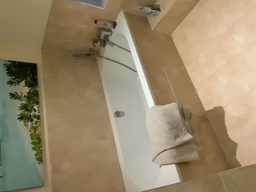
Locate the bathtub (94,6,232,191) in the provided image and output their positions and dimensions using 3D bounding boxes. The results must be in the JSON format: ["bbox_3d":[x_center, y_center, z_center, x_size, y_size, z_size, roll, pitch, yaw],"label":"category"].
[{"bbox_3d":[0.200,0.020,2.150,0.740,0.570,1.650,-47,50,47],"label":"bathtub"}]

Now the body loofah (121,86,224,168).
[{"bbox_3d":[0.320,0.260,1.710,0.530,0.490,0.460,-42,54,50],"label":"body loofah"}]
